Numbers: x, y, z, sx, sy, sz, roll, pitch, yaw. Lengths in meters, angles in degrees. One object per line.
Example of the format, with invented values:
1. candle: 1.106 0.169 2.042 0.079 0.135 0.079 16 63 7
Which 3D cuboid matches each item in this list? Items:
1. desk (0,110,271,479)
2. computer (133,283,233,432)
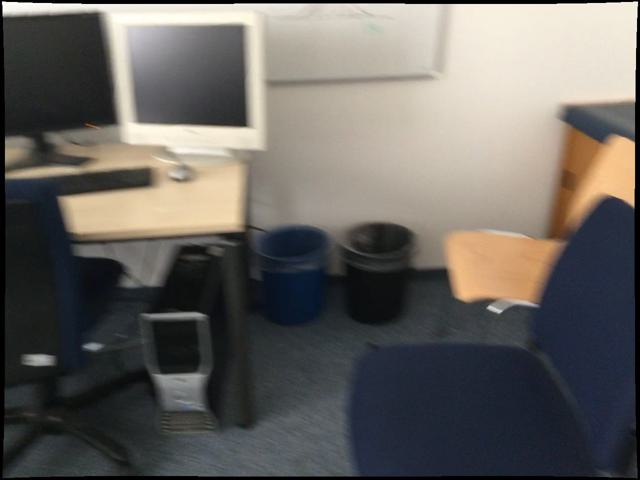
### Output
1. desk: -1.219 0.170 1.800 2.058 0.741 1.160 -3 29 -2
2. computer: -0.390 0.350 1.700 0.210 0.430 0.140 -3 29 -2
